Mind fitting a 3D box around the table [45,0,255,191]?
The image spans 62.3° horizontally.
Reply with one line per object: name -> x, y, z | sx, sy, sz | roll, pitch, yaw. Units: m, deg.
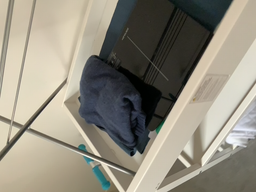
table -> 0.310, -0.170, 0.840 | 0.540, 0.930, 0.800 | 45, 122, 37
